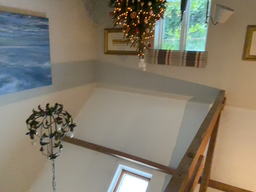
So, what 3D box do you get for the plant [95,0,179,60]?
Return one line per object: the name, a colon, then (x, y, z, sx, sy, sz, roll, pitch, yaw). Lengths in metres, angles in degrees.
plant: (0.080, -1.610, 3.280, 0.990, 1.980, 1.100, -3, -164, -18)
